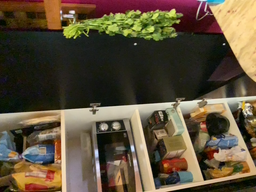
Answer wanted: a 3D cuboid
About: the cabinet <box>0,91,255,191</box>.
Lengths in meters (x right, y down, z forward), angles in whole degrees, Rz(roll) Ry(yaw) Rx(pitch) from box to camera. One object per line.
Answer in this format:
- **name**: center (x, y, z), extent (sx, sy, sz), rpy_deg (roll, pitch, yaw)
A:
- **cabinet**: center (0.150, 0.360, 1.370), extent (0.520, 1.960, 0.520), rpy_deg (112, 151, -57)
